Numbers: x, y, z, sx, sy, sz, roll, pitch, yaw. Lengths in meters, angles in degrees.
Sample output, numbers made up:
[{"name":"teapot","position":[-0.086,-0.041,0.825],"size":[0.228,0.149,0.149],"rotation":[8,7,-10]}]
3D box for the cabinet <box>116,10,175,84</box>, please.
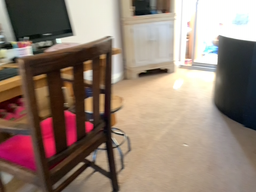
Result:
[{"name":"cabinet","position":[0.290,-0.780,3.250],"size":[0.550,0.930,0.720],"rotation":[14,29,34]}]
